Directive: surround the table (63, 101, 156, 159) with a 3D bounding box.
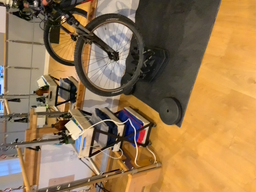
[{"bbox_3d":[-0.180,0.290,2.080,0.450,0.750,0.300,33,118,49],"label":"table"}]
